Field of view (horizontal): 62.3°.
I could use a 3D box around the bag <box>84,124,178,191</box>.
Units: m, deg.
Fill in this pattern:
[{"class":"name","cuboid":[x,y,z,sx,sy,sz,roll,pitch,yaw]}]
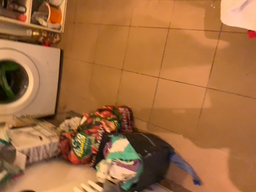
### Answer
[{"class":"bag","cuboid":[0.030,0.370,1.190,0.260,0.430,0.290,24,105,33]}]
